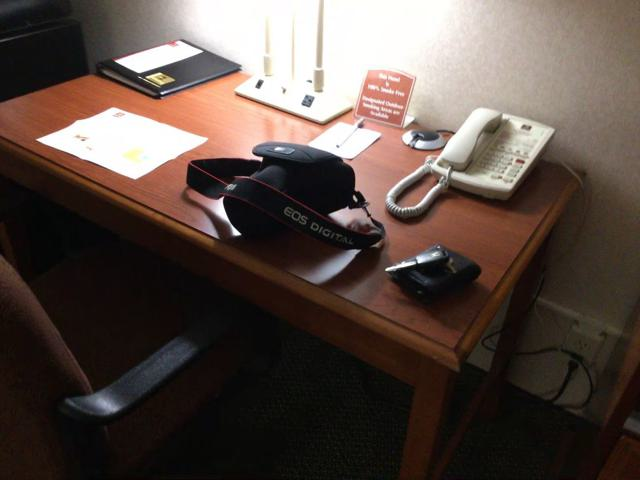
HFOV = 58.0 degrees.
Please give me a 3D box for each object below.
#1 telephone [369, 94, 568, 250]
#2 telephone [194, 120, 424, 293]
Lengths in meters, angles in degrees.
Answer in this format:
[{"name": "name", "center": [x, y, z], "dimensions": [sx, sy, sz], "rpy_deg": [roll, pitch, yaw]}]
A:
[{"name": "telephone", "center": [0.290, -0.150, 1.090], "dimensions": [0.220, 0.100, 0.390], "rpy_deg": [24, 39, 26]}, {"name": "telephone", "center": [-0.020, -0.070, 0.940], "dimensions": [0.300, 0.120, 0.200], "rpy_deg": [24, 39, 26]}]
